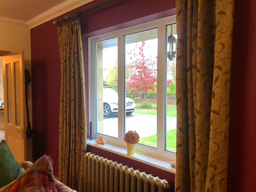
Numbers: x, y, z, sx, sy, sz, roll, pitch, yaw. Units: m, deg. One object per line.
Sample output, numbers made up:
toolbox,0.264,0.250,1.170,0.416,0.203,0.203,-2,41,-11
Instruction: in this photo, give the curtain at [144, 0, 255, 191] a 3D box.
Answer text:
curtain,0.500,0.270,1.510,0.610,2.300,0.450,4,5,42

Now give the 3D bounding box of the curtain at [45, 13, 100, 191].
curtain,-0.680,0.160,2.580,0.380,2.070,0.620,-3,5,-45
